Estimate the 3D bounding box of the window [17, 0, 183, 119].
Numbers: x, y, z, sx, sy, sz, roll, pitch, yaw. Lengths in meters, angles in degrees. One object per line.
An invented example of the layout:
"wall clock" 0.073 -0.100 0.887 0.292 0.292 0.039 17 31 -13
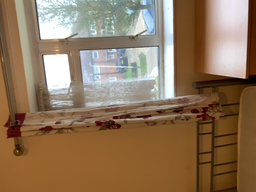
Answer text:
"window" -0.160 -0.400 1.620 0.090 1.170 1.040 -140 46 -76
